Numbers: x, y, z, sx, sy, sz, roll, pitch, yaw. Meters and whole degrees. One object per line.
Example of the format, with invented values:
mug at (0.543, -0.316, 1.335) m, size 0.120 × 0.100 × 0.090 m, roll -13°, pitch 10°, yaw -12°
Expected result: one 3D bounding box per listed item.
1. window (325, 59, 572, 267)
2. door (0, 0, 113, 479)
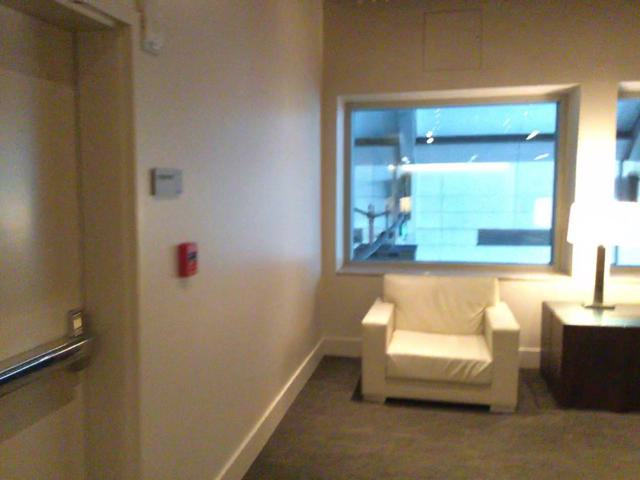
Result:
window at (0.990, -0.560, 4.600) m, size 1.800 × 1.480 × 0.450 m, roll -1°, pitch 5°, yaw 12°
door at (-0.850, 0.370, 1.610) m, size 0.110 × 2.010 × 0.680 m, roll -1°, pitch 5°, yaw 12°
